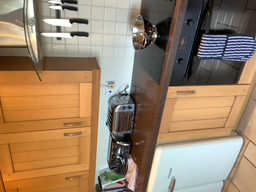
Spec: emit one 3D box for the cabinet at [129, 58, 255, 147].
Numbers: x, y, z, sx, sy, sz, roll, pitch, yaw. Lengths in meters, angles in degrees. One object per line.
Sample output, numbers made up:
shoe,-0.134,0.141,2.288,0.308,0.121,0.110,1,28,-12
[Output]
cabinet,0.550,0.010,1.900,0.590,0.900,0.510,-120,33,-56
